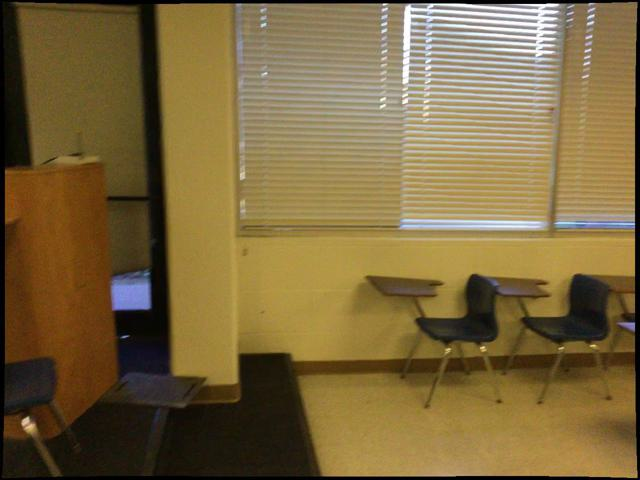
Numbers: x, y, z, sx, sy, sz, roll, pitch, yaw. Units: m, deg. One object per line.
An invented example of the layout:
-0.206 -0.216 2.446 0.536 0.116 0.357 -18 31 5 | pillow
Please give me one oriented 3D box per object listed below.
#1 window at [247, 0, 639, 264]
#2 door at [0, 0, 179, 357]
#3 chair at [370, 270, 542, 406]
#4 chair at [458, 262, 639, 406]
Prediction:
2.703 -0.932 4.100 6.354 1.915 0.450 -2 12 -10 | window
-1.356 -0.441 3.290 0.958 2.175 0.290 -2 12 -10 | door
0.868 0.622 3.810 0.978 0.712 0.460 -2 12 -10 | chair
1.556 0.602 3.890 1.067 0.772 0.510 -2 12 -10 | chair
